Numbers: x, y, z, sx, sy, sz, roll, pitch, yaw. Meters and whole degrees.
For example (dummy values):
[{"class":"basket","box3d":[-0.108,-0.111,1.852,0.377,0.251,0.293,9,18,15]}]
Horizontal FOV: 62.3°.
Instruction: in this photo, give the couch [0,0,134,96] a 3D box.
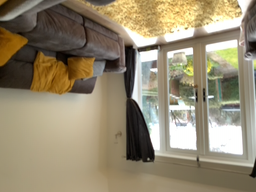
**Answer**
[{"class":"couch","box3d":[-0.840,-0.550,3.090,1.080,0.970,1.740,-3,176,33]}]

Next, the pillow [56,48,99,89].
[{"class":"pillow","box3d":[-0.750,-0.420,3.200,0.170,0.410,0.480,12,-132,46]}]
